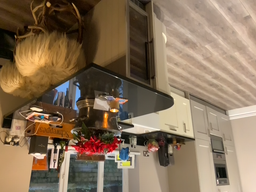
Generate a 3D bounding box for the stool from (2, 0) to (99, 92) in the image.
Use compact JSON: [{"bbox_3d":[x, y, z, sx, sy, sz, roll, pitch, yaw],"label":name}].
[{"bbox_3d":[-0.620,-0.480,1.760,0.530,0.680,0.510,-19,154,41],"label":"stool"}]
